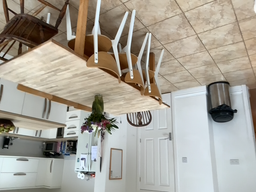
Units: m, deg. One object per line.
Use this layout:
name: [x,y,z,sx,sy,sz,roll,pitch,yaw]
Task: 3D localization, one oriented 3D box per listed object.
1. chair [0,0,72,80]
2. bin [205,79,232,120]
chair: [-0.920,-0.630,1.960,0.470,0.770,0.510,-10,159,33]
bin: [1.720,0.070,4.050,0.380,0.700,0.270,-9,159,31]
